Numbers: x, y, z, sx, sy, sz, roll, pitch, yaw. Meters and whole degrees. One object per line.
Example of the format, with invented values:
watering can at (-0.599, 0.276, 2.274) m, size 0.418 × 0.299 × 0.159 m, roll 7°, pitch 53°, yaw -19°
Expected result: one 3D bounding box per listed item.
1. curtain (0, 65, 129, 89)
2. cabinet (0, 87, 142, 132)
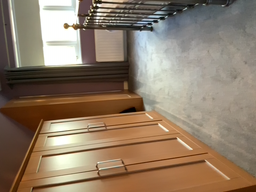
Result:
curtain at (-1.120, -0.370, 3.900) m, size 0.150 × 2.320 × 0.330 m, roll -146°, pitch 53°, yaw -71°
cabinet at (-0.900, 0.160, 3.660) m, size 0.960 × 2.090 × 0.370 m, roll -145°, pitch 52°, yaw -71°
